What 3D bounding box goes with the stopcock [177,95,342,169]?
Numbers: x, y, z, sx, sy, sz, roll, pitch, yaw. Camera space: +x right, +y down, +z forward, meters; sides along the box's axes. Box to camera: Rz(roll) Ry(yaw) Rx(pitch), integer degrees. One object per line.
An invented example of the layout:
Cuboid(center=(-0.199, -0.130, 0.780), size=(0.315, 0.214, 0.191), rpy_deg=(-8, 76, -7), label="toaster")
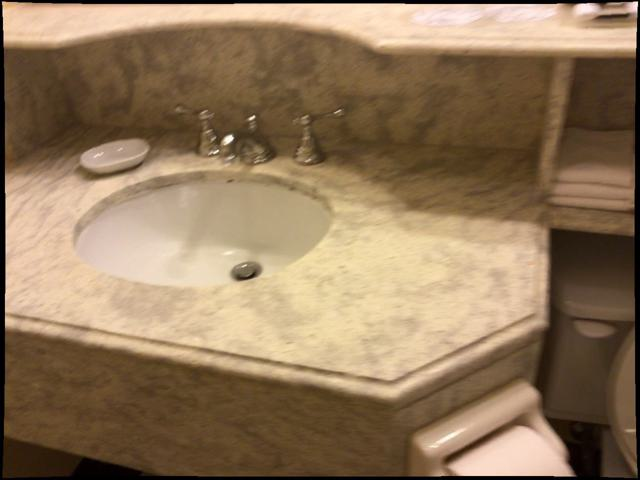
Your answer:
Cuboid(center=(-0.110, -0.210, 1.100), size=(0.270, 0.080, 0.140), rpy_deg=(5, 36, 17), label="stopcock")
